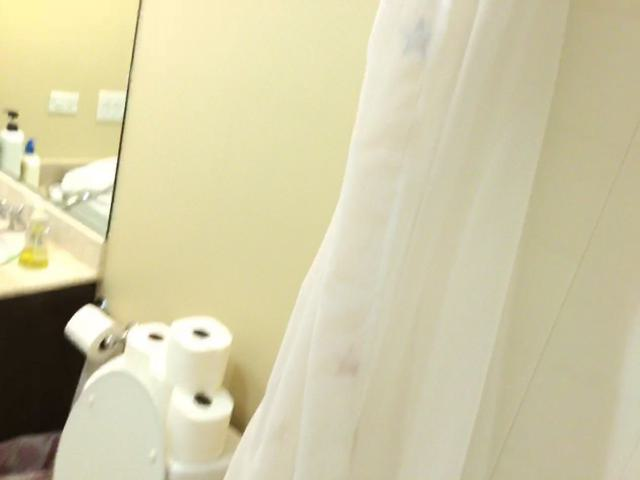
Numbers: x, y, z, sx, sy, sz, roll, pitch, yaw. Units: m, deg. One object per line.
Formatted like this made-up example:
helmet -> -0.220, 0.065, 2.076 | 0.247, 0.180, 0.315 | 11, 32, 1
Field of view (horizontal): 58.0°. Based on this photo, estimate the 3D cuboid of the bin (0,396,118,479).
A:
bin -> -0.830, 0.670, 1.670 | 0.310, 0.210, 0.320 | 26, 20, 30

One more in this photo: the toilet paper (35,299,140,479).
toilet paper -> -0.680, 0.510, 1.660 | 0.140, 0.670, 0.150 | 26, 20, 30

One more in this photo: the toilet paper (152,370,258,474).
toilet paper -> -0.250, 0.390, 1.260 | 0.140, 0.120, 0.150 | 26, 20, 30

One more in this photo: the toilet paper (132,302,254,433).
toilet paper -> -0.290, 0.280, 1.310 | 0.190, 0.190, 0.150 | 26, 20, 30
